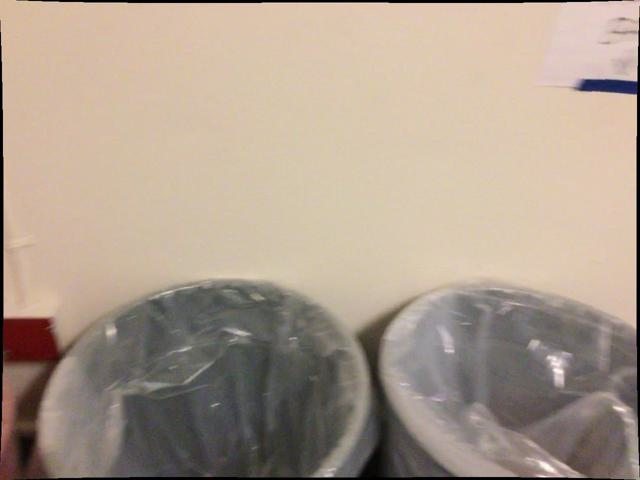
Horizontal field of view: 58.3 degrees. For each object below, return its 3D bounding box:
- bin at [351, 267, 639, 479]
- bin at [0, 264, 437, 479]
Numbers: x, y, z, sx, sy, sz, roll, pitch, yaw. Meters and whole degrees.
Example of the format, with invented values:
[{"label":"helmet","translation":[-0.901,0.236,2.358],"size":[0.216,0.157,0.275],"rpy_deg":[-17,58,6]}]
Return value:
[{"label":"bin","translation":[0.390,0.510,1.180],"size":[0.550,0.670,0.580],"rpy_deg":[3,32,-3]},{"label":"bin","translation":[-0.160,0.500,1.160],"size":[0.619,0.680,0.580],"rpy_deg":[1,34,-2]}]
